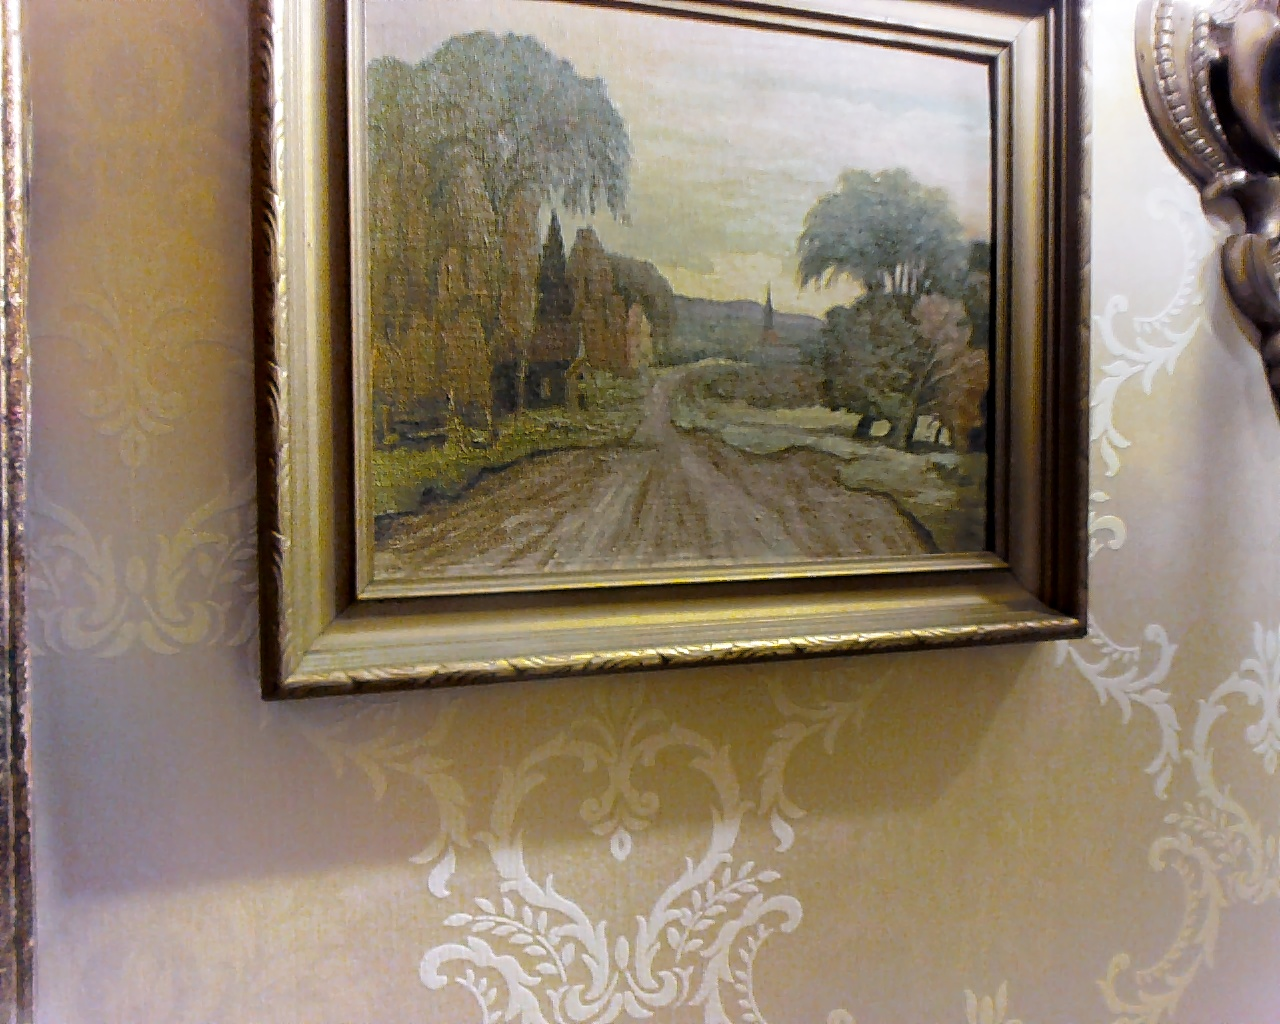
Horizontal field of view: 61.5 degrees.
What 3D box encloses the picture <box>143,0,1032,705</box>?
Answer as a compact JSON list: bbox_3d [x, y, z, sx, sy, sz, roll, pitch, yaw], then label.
[{"bbox_3d":[0.000,-0.100,0.420,0.350,0.320,0.030,-1,0,-21],"label":"picture"}]
